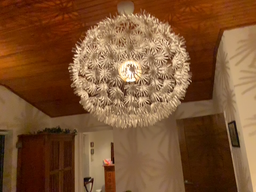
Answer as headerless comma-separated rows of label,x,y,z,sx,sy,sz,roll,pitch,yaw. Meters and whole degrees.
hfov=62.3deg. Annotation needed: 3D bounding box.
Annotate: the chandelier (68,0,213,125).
chandelier,0.020,-0.360,1.740,0.770,1.080,0.810,4,165,-33
